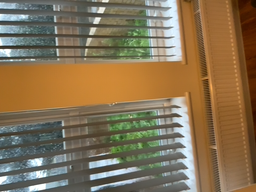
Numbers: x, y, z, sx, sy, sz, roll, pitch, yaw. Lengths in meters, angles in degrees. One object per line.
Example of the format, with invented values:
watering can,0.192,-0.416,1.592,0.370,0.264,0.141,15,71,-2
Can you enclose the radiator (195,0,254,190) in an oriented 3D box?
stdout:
radiator,0.720,-0.090,1.600,0.110,0.280,1.480,169,96,-71
